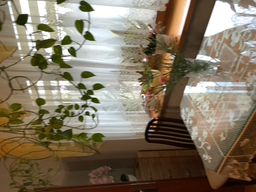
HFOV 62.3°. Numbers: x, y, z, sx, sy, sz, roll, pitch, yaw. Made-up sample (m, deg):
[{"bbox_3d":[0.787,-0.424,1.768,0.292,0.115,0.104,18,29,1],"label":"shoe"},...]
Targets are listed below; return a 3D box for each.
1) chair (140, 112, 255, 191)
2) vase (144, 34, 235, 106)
[{"bbox_3d":[0.670,0.520,2.010,0.600,0.970,0.400,-101,15,-45],"label":"chair"},{"bbox_3d":[0.390,-0.190,1.500,0.430,0.430,0.300,-101,15,-46],"label":"vase"}]
